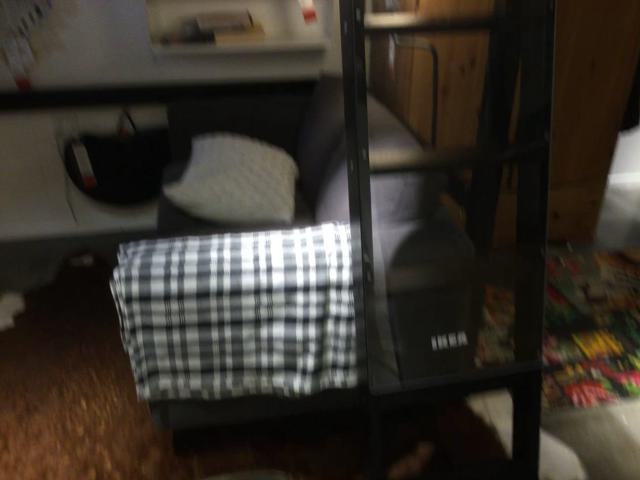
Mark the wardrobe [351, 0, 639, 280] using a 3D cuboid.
[{"bbox_3d":[0.840,-0.890,2.390,1.280,1.920,0.700,-6,31,-8],"label":"wardrobe"}]

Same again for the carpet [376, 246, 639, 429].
[{"bbox_3d":[0.990,0.300,2.230,1.380,0.040,0.820,-6,31,-8],"label":"carpet"}]
